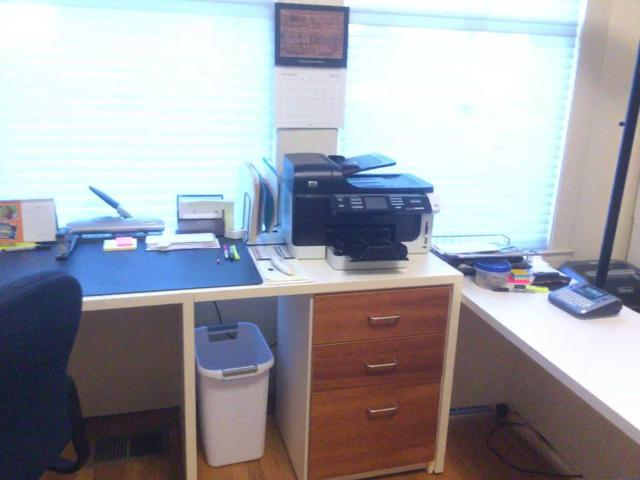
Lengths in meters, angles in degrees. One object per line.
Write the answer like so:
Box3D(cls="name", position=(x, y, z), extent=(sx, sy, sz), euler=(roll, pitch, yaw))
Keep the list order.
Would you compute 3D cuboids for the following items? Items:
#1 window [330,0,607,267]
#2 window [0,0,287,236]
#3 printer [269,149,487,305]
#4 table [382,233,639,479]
Box3D(cls="window", position=(0.590, -0.750, 2.180), extent=(1.040, 1.710, 0.100), euler=(-2, 17, -17))
Box3D(cls="window", position=(-0.620, -0.810, 1.820), extent=(1.040, 1.600, 0.090), euler=(-2, 17, -17))
Box3D(cls="printer", position=(0.150, -0.080, 1.930), extent=(0.520, 0.370, 0.570), euler=(-2, 17, -17))
Box3D(cls="table", position=(0.700, 0.510, 1.700), extent=(0.560, 0.750, 1.210), euler=(-2, 17, -16))
